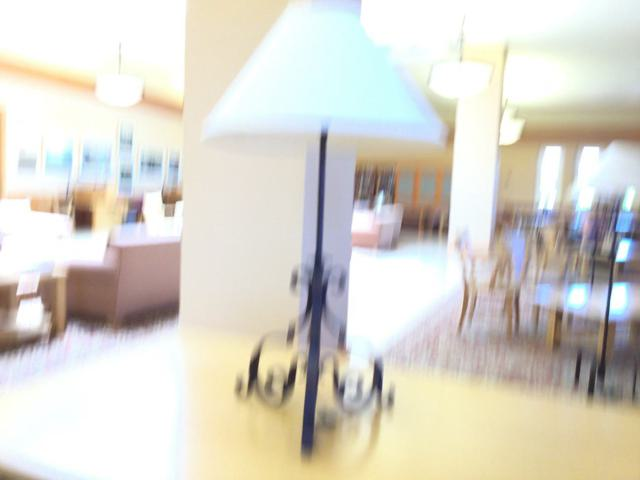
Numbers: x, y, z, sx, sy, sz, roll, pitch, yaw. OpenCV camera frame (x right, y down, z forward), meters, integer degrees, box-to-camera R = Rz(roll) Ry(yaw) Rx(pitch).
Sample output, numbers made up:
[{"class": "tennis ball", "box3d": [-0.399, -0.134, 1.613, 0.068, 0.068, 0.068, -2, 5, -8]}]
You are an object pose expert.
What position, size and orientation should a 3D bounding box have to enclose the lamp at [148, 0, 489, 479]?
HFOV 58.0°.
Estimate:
[{"class": "lamp", "box3d": [0.030, -0.070, 1.150, 0.480, 0.820, 0.490, 5, 4, 22]}]
